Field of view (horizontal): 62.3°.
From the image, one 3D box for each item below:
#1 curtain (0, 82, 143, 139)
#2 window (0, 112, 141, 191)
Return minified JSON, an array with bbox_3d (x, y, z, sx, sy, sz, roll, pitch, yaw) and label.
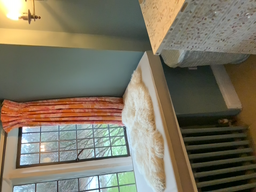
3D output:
[{"bbox_3d":[-0.540,0.140,2.140,0.450,1.270,0.340,113,150,-52],"label":"curtain"},{"bbox_3d":[-0.520,0.950,2.080,0.140,1.300,1.640,117,148,-55],"label":"window"}]
